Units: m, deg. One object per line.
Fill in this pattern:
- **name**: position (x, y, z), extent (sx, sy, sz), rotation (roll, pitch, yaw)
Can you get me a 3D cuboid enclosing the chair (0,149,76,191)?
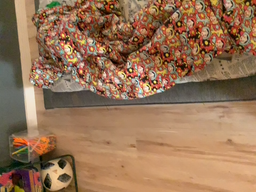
- **chair**: position (-0.690, 0.630, 1.400), extent (0.400, 0.540, 0.380), rotation (-3, 92, 31)
